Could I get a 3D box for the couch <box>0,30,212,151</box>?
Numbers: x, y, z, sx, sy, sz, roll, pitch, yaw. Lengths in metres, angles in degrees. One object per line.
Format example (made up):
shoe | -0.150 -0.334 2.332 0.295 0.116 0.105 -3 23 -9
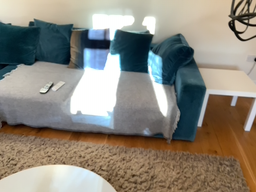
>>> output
couch | -1.050 -0.270 2.580 3.610 0.650 1.320 6 30 6
